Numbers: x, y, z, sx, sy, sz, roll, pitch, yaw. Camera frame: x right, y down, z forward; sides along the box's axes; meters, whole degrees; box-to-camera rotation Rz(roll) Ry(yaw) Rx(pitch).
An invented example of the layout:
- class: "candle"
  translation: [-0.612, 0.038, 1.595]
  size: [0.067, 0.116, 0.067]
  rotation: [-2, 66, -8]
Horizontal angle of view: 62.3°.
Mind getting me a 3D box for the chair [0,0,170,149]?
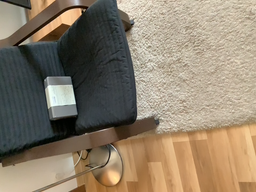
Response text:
- class: "chair"
  translation: [-0.420, -0.100, 1.040]
  size: [0.840, 0.910, 0.570]
  rotation: [-14, 84, 35]
